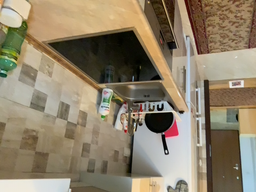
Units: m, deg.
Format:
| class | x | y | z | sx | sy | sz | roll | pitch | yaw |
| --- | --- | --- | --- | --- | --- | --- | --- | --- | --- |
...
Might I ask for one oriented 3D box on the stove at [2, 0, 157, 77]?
| class | x | y | z | sx | sy | sz | roll | pitch | yaw |
| --- | --- | --- | --- | --- | --- | --- | --- | --- | --- |
| stove | -0.190 | -0.270 | 1.130 | 0.530 | 0.030 | 0.660 | -3 | 160 | 23 |
